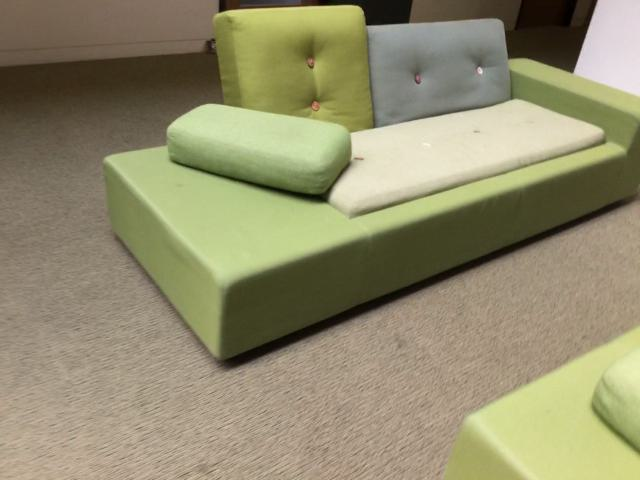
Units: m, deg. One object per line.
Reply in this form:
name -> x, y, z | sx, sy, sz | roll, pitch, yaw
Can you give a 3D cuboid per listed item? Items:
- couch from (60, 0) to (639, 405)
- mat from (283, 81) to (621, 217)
couch -> 0.370, -0.440, 2.280 | 2.260, 0.810, 1.020 | -19, 40, -29
mat -> 0.570, -0.420, 2.310 | 1.380, 0.080, 0.490 | -19, 40, -29
